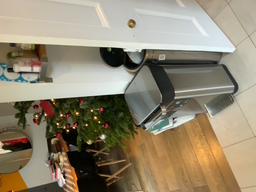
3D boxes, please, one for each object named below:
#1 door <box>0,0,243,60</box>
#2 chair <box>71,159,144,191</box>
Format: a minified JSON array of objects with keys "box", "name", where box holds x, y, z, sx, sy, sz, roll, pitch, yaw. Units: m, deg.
[{"box":[-0.230,-0.560,1.210,0.030,2.010,0.910,-58,46,47],"name":"door"},{"box":[-0.290,1.240,2.820,0.440,0.760,0.530,64,144,33],"name":"chair"}]
